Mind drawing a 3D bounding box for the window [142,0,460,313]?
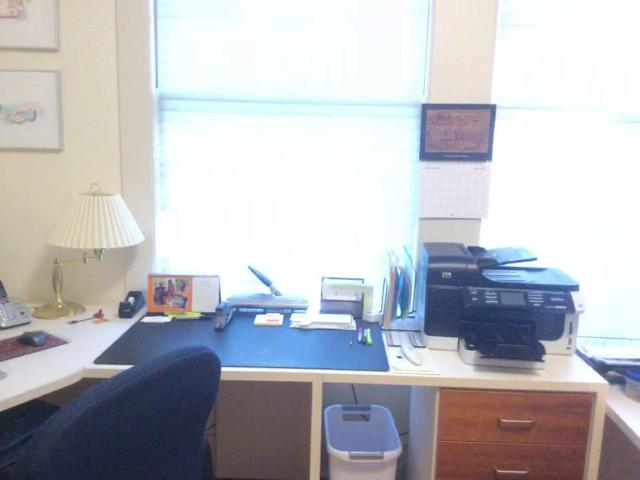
[{"bbox_3d":[-0.080,-0.500,2.110,1.100,1.490,0.130,3,8,0],"label":"window"}]

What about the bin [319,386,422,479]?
[{"bbox_3d":[0.160,0.820,2.110,0.320,0.400,0.460,3,8,0],"label":"bin"}]

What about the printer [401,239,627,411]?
[{"bbox_3d":[0.580,0.240,1.920,0.520,0.390,0.610,3,8,0],"label":"printer"}]
